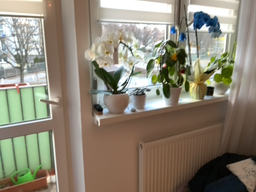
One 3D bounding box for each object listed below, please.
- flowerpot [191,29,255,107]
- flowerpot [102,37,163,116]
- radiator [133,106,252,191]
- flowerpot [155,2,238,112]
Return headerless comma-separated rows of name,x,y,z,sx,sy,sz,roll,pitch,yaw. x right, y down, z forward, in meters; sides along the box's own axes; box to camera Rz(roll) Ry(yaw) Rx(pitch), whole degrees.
flowerpot,0.840,-0.260,1.870,0.410,0.600,0.310,-8,16,-30
flowerpot,0.020,-0.160,1.520,0.290,0.490,0.320,-9,16,-32
radiator,0.600,0.610,1.920,1.130,0.850,0.250,-7,16,-28
flowerpot,0.490,-0.290,1.600,0.380,0.690,0.390,-8,16,-29
